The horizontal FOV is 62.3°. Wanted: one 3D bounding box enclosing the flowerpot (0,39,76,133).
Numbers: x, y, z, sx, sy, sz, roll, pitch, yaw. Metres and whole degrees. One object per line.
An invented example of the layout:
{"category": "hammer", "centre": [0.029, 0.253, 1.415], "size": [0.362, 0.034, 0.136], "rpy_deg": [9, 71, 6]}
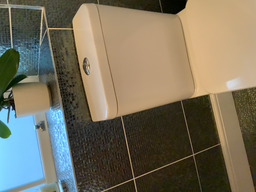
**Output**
{"category": "flowerpot", "centre": [-0.410, -0.030, 0.810], "size": [0.210, 0.310, 0.300], "rpy_deg": [-18, 84, 58]}
